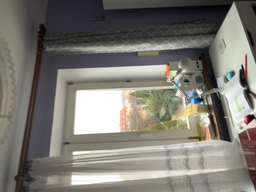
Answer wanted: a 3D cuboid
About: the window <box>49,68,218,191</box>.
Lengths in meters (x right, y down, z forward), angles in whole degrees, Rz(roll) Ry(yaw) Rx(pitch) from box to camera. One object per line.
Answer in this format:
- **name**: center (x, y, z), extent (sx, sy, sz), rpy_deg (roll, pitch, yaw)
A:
- **window**: center (0.040, 0.740, 2.020), extent (0.170, 1.490, 2.200), rpy_deg (89, 177, -64)
